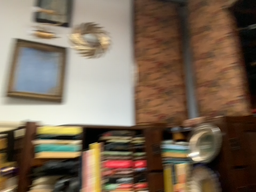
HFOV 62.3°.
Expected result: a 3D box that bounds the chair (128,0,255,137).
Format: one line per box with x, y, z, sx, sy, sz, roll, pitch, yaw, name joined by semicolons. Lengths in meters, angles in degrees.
0.590;-0.430;1.910;0.640;0.970;1.470;134;138;-62;chair
